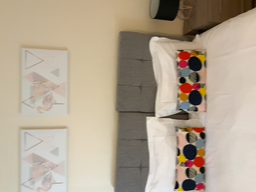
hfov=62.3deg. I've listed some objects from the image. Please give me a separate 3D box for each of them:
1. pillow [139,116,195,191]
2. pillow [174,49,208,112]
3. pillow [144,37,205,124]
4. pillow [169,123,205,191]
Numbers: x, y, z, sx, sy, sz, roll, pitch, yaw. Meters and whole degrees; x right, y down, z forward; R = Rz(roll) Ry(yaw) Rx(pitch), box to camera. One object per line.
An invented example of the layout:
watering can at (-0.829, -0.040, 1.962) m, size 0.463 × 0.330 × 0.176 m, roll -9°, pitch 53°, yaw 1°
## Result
pillow at (0.370, 0.580, 2.040) m, size 0.150 × 0.480 × 0.730 m, roll 8°, pitch -95°, yaw -81°
pillow at (0.570, -0.140, 1.950) m, size 0.170 × 0.240 × 0.550 m, roll -30°, pitch -58°, yaw -85°
pillow at (0.430, -0.150, 2.000) m, size 0.110 × 0.510 × 0.790 m, roll -1°, pitch -87°, yaw -82°
pillow at (0.530, 0.570, 1.940) m, size 0.130 × 0.270 × 0.620 m, roll -21°, pitch -67°, yaw -85°
